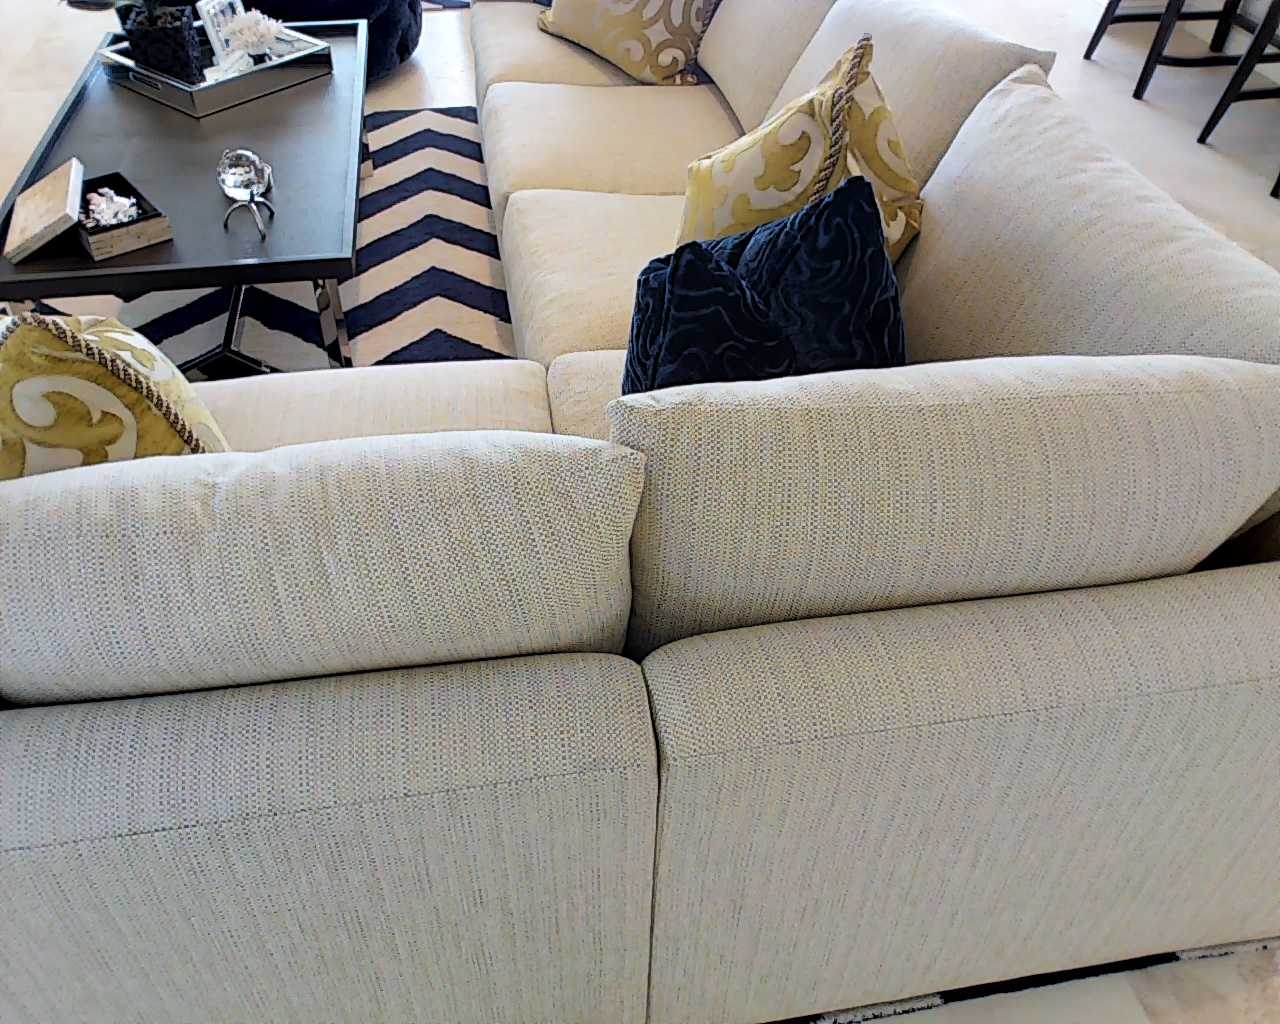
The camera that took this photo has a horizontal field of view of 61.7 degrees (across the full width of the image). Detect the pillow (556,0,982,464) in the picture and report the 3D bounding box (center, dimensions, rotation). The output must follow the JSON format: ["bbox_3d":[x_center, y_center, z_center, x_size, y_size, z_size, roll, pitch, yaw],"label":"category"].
[{"bbox_3d":[0.260,-0.490,1.780,0.360,0.600,0.560,1,52,35],"label":"pillow"}]

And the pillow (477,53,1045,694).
[{"bbox_3d":[0.180,-0.190,1.450,0.530,0.570,0.410,-29,44,-13],"label":"pillow"}]

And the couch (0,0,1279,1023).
[{"bbox_3d":[-0.440,-0.640,2.300,2.690,0.970,3.490,-6,42,-8],"label":"couch"}]
